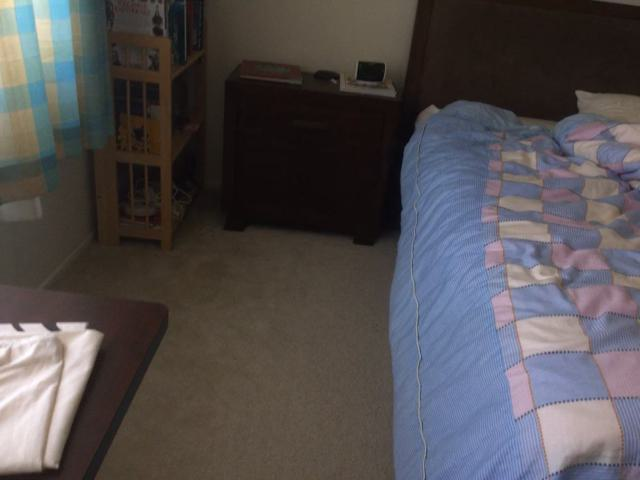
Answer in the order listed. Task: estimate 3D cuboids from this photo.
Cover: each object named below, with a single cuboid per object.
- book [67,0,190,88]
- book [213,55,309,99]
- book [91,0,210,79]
[{"bbox_3d":[-0.650,-0.730,2.010,0.330,0.310,0.260,7,26,0],"label":"book"},{"bbox_3d":[-0.230,-0.680,2.390,0.340,0.070,0.410,7,26,0],"label":"book"},{"bbox_3d":[-0.630,-0.860,2.240,0.290,0.340,0.540,7,26,0],"label":"book"}]
